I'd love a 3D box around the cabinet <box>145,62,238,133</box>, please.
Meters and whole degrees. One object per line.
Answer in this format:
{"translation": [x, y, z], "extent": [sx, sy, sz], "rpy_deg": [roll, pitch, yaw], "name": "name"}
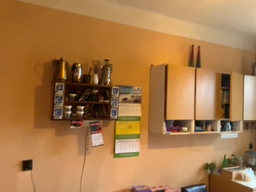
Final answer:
{"translation": [0.810, 0.050, 2.600], "extent": [1.190, 0.730, 0.330], "rpy_deg": [3, -3, -27], "name": "cabinet"}
